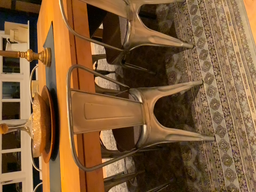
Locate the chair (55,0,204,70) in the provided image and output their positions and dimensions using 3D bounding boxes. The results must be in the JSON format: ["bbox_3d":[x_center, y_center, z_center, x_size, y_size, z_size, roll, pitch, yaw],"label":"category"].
[{"bbox_3d":[-0.010,-0.430,1.310,0.490,0.740,0.340,-28,67,57],"label":"chair"}]
